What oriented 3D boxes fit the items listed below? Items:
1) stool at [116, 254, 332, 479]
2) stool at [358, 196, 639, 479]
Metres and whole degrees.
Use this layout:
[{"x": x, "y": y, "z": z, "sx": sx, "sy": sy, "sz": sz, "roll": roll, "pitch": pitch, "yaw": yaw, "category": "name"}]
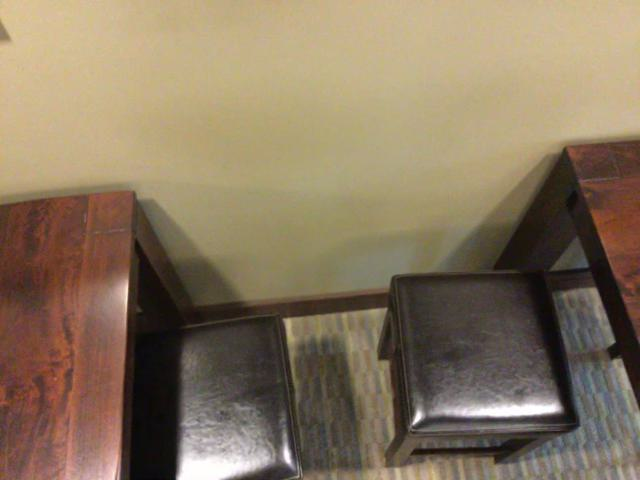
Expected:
[{"x": -0.230, "y": 0.470, "z": 1.650, "sx": 0.460, "sy": 0.670, "sz": 0.560, "roll": -6, "pitch": 60, "yaw": -3, "category": "stool"}, {"x": 0.450, "y": 0.330, "z": 1.720, "sx": 0.560, "sy": 0.640, "sz": 0.610, "roll": -6, "pitch": 60, "yaw": -3, "category": "stool"}]
